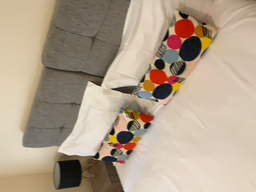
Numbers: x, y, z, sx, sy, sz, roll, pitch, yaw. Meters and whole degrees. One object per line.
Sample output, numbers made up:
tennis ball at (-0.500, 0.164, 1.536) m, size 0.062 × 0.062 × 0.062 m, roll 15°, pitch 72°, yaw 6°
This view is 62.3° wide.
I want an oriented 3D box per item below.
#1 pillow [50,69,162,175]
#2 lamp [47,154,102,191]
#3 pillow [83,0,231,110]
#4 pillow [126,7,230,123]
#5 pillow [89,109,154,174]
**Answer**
pillow at (-0.200, 0.260, 1.680) m, size 0.780 × 0.580 × 0.230 m, roll -57°, pitch 18°, yaw 35°
lamp at (-0.530, 0.770, 2.070) m, size 0.250 × 0.430 × 0.270 m, roll -59°, pitch 41°, yaw 35°
pillow at (0.100, -0.310, 1.230) m, size 0.780 × 0.470 × 0.190 m, roll -57°, pitch 20°, yaw 36°
pillow at (0.240, -0.140, 1.230) m, size 0.620 × 0.250 × 0.180 m, roll -57°, pitch 20°, yaw 35°
pillow at (-0.070, 0.370, 1.620) m, size 0.570 × 0.270 × 0.100 m, roll -59°, pitch 23°, yaw 32°
